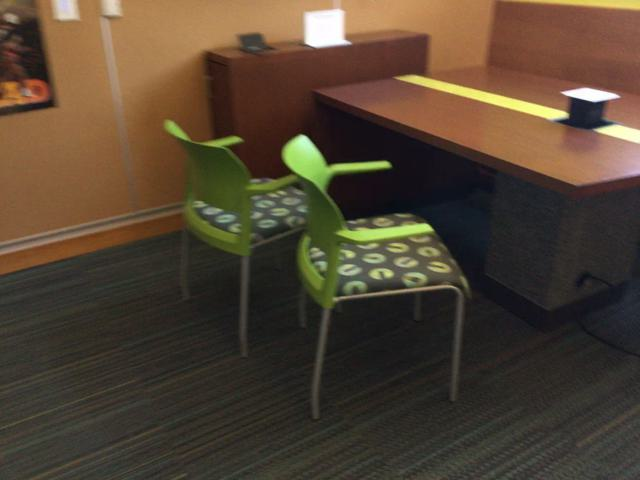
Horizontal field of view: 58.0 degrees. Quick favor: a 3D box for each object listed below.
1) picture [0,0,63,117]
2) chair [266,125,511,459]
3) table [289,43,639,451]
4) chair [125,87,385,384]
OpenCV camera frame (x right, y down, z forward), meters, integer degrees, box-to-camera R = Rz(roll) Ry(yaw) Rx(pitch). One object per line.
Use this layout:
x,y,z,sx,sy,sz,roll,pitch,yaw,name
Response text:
-1.330,-0.800,2.300,0.430,0.600,0.100,-16,26,-26,picture
0.160,0.110,1.830,0.580,0.760,0.700,-6,23,-3,chair
0.850,-0.260,2.400,1.180,0.890,1.820,-16,26,-26,table
-0.240,-0.090,2.220,0.610,0.830,0.750,-19,27,-32,chair
